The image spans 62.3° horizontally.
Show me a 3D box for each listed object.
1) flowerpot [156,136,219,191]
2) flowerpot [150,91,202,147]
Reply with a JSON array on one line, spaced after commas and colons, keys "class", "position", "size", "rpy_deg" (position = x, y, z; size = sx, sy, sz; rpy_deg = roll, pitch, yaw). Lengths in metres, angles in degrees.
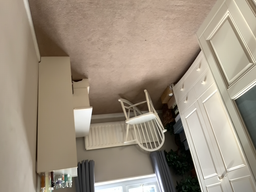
[{"class": "flowerpot", "position": [0.820, 1.050, 3.050], "size": [0.560, 0.800, 0.390], "rpy_deg": [-4, 153, -15]}, {"class": "flowerpot", "position": [0.730, 0.360, 3.390], "size": [0.500, 0.730, 0.450], "rpy_deg": [-5, 153, -14]}]
